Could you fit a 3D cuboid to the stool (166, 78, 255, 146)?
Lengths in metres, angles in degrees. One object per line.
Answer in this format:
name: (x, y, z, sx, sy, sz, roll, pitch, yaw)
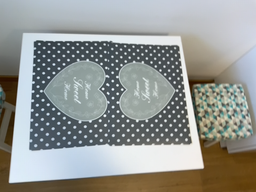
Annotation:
stool: (0.520, 0.140, 1.440, 0.340, 0.510, 0.330, 2, 71, -9)
